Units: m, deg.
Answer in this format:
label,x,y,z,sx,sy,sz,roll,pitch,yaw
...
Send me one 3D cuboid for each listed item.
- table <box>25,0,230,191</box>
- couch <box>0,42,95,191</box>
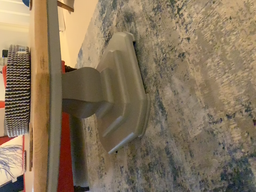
label,x,y,z,sx,sy,sz,roll,pitch,yaw
table,-0.240,-0.020,1.040,0.990,0.440,0.980,-50,47,51
couch,-0.940,0.410,1.950,1.040,0.830,1.380,-50,47,51
